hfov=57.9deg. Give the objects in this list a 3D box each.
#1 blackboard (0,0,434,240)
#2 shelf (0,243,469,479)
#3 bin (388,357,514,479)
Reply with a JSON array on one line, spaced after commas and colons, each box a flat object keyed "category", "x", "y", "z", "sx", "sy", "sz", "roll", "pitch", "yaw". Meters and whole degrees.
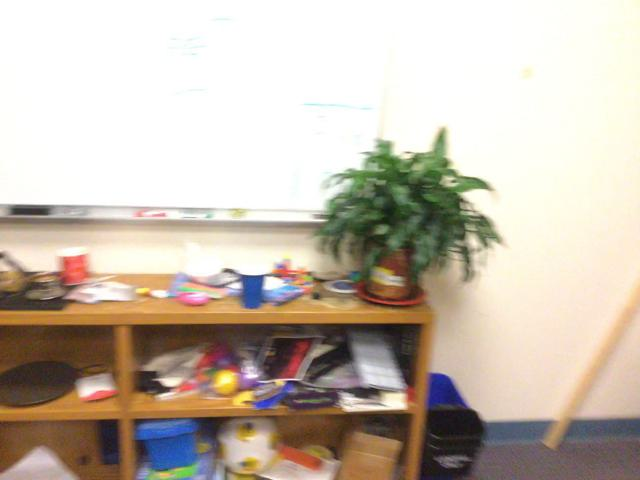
[{"category": "blackboard", "x": -0.590, "y": -0.580, "z": 1.660, "sx": 1.850, "sy": 1.160, "sz": 0.090, "roll": 1, "pitch": 16, "yaw": -9}, {"category": "shelf", "x": -0.590, "y": 0.460, "z": 1.800, "sx": 1.950, "sy": 0.810, "sz": 0.410, "roll": 1, "pitch": 16, "yaw": -9}, {"category": "bin", "x": 0.420, "y": 0.670, "z": 1.960, "sx": 0.250, "sy": 0.390, "sz": 0.400, "roll": 1, "pitch": 16, "yaw": -9}]
